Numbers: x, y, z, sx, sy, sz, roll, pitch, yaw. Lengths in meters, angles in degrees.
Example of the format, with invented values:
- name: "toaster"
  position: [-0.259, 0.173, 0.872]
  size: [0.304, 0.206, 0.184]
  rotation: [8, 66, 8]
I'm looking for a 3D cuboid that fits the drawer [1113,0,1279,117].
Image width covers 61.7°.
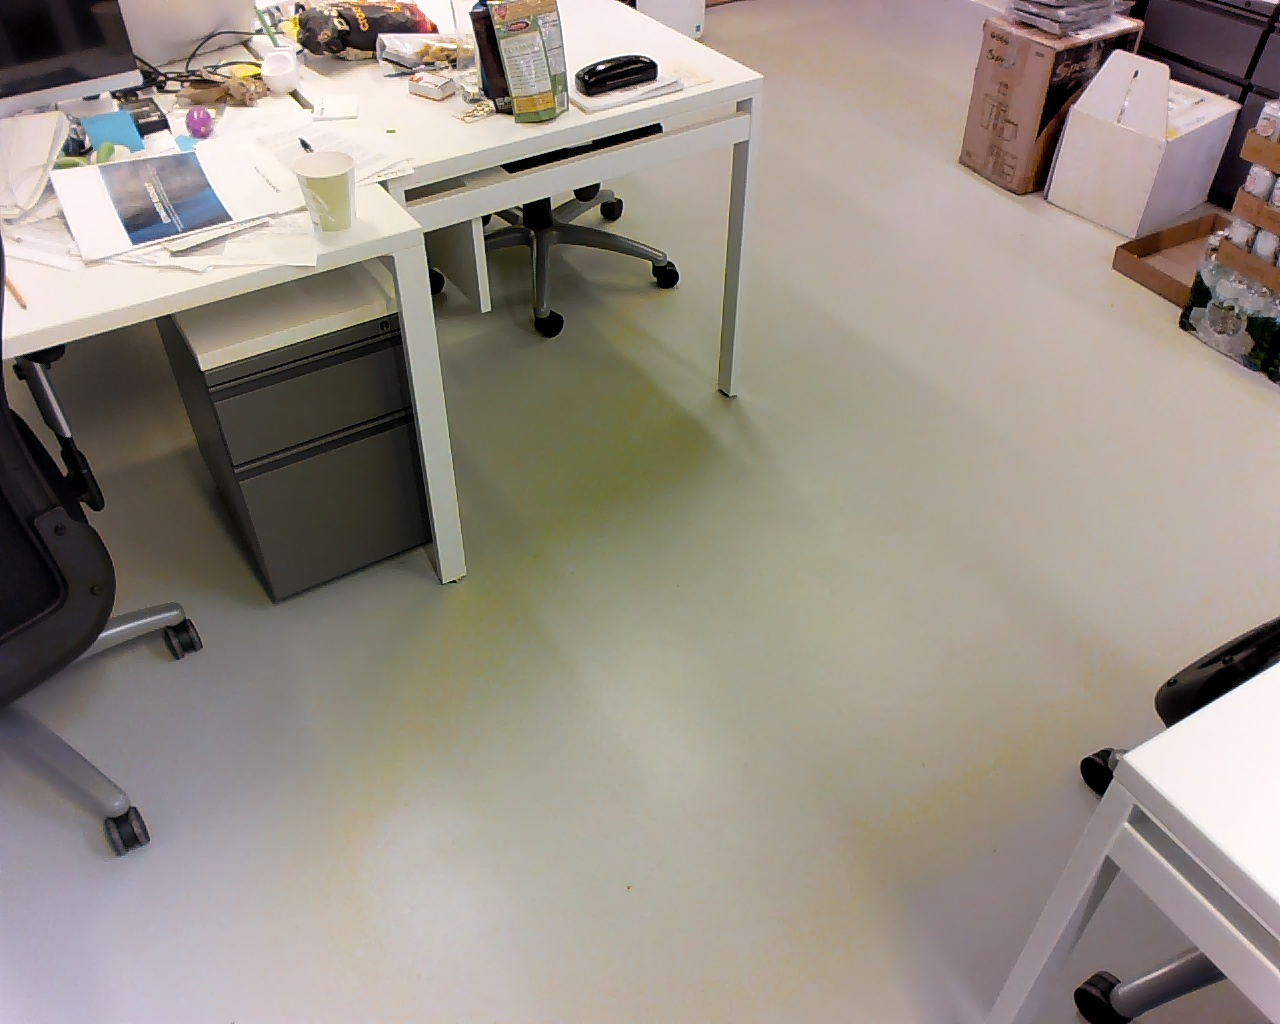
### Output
- name: "drawer"
  position: [1.640, -1.390, 3.060]
  size: [0.170, 0.340, 0.450]
  rotation: [-22, 47, -22]

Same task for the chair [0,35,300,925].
- name: "chair"
  position: [-1.030, 0.010, 1.440]
  size: [0.740, 1.010, 0.650]
  rotation: [-22, 47, -22]

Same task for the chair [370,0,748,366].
- name: "chair"
  position: [-0.200, -1.020, 2.580]
  size: [0.620, 1.000, 0.650]
  rotation: [-24, 48, -24]
